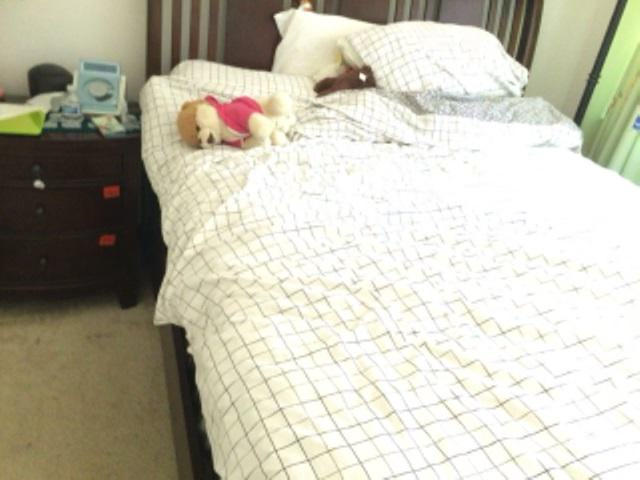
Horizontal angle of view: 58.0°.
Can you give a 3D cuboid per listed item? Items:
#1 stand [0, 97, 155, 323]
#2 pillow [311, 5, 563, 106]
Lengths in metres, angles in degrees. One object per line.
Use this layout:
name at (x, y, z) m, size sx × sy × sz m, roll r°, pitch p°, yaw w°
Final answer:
stand at (-0.980, -0.120, 2.100) m, size 0.710 × 0.650 × 0.500 m, roll -1°, pitch 30°, yaw -18°
pillow at (0.410, -0.680, 2.130) m, size 0.790 × 0.220 × 0.400 m, roll -1°, pitch 30°, yaw -18°
